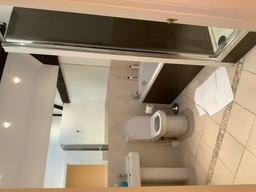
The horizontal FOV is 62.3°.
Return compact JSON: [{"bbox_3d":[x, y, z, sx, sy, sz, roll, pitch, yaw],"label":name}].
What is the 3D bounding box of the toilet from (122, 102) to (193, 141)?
[{"bbox_3d":[0.390,0.410,3.180,0.650,0.870,0.380,112,159,-63],"label":"toilet"}]
